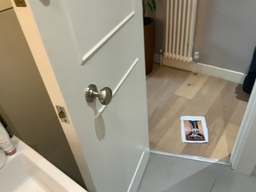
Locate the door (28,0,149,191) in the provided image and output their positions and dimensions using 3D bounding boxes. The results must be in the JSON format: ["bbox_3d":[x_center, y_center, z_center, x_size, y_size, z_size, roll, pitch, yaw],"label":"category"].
[{"bbox_3d":[-0.040,-0.190,0.740,0.020,1.740,0.640,9,41,19],"label":"door"}]
